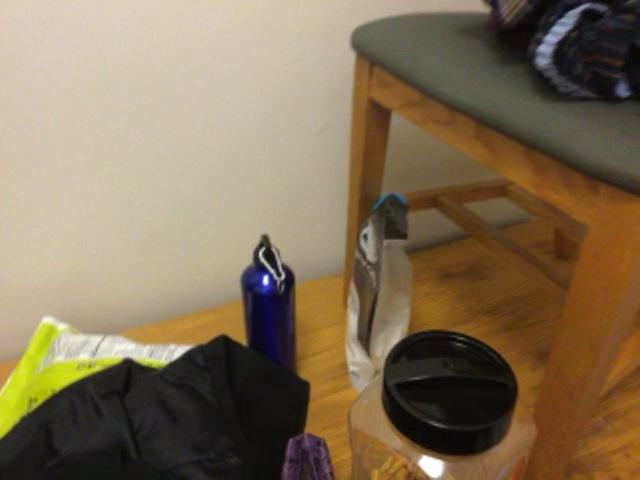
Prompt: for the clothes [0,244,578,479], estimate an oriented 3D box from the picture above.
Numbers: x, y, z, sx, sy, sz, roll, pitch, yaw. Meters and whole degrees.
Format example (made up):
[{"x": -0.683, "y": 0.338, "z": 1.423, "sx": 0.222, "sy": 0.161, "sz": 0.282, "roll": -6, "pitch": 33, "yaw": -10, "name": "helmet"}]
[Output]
[{"x": -0.140, "y": 0.330, "z": 0.640, "sx": 0.700, "sy": 0.250, "sz": 0.570, "roll": -14, "pitch": 35, "yaw": -19, "name": "clothes"}]
